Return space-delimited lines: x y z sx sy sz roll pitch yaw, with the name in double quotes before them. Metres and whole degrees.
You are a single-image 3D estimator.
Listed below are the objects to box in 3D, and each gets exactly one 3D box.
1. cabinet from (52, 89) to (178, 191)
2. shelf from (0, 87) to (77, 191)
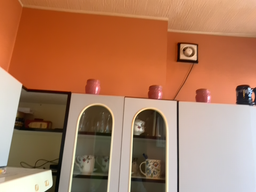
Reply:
"cabinet" -0.060 0.350 1.230 0.610 0.670 0.320 4 -15 -3
"shelf" -0.560 0.320 1.230 0.400 0.670 0.280 4 -15 -3
